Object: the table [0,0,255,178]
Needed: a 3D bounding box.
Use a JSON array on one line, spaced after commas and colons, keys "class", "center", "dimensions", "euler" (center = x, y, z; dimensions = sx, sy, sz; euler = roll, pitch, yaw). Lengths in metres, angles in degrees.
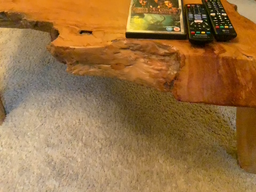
[{"class": "table", "center": [-0.100, -0.290, 0.870], "dimensions": [1.300, 0.480, 0.830], "euler": [9, 55, 8]}]
